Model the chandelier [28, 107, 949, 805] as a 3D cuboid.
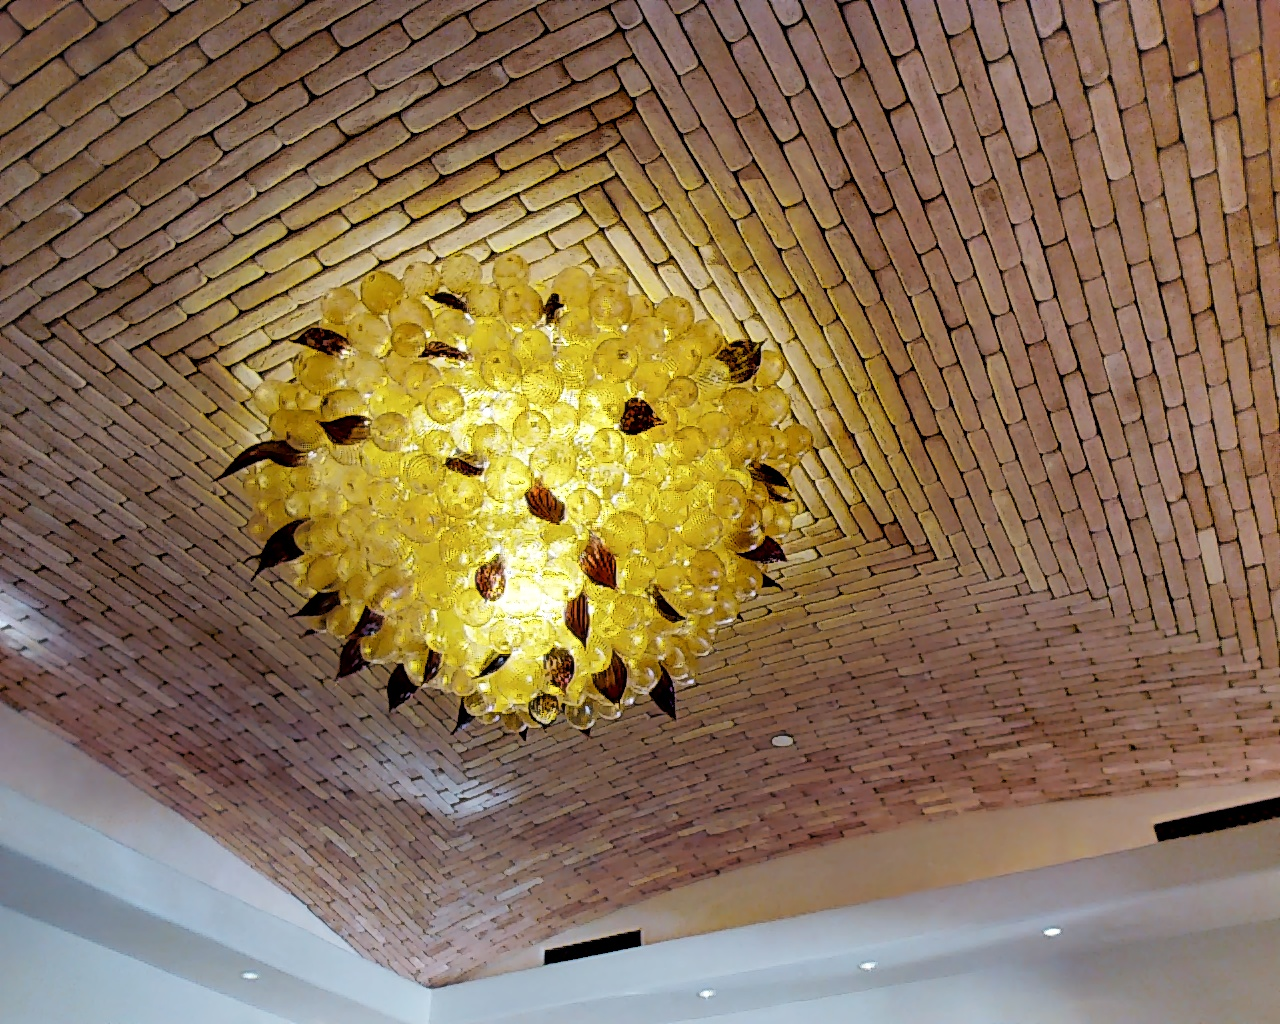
[{"bbox_3d":[-0.250,0.120,2.640,1.520,0.820,1.570,-20,-23,21],"label":"chandelier"}]
